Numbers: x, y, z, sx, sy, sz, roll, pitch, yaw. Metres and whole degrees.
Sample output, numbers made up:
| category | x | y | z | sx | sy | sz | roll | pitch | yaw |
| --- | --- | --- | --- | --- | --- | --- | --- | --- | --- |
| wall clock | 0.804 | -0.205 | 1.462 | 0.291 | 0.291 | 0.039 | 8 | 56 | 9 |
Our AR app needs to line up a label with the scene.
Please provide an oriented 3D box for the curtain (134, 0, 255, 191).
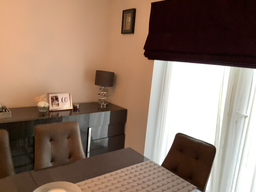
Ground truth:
| category | x | y | z | sx | sy | sz | roll | pitch | yaw |
| --- | --- | --- | --- | --- | --- | --- | --- | --- | --- |
| curtain | 0.860 | 0.140 | 1.940 | 0.200 | 1.960 | 1.940 | -3 | 14 | -39 |

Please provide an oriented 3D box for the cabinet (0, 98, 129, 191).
| category | x | y | z | sx | sy | sz | roll | pitch | yaw |
| --- | --- | --- | --- | --- | --- | --- | --- | --- | --- |
| cabinet | -0.930 | 0.520 | 2.610 | 1.840 | 0.800 | 0.620 | -3 | 14 | -40 |
